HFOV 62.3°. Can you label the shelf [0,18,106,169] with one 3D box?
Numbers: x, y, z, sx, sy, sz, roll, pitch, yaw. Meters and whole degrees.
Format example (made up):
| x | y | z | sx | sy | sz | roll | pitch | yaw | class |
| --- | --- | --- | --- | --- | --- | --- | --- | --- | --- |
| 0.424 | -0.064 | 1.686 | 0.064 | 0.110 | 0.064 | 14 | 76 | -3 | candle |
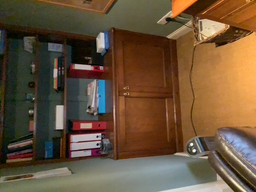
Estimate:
| x | y | z | sx | sy | sz | roll | pitch | yaw | class |
| --- | --- | --- | --- | --- | --- | --- | --- | --- | --- |
| -0.910 | -0.030 | 2.170 | 0.250 | 1.320 | 1.380 | 162 | 108 | -63 | shelf |
